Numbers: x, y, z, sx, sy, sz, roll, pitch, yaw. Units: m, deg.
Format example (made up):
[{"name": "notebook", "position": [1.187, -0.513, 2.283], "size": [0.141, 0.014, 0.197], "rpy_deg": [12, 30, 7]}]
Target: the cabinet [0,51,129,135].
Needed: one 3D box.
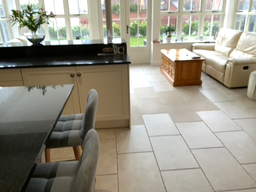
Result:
[{"name": "cabinet", "position": [-1.250, -0.050, 2.780], "size": [2.470, 0.880, 0.600], "rpy_deg": [-3, 22, -4]}]

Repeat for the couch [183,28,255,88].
[{"name": "couch", "position": [2.170, -1.000, 4.910], "size": [1.030, 0.920, 2.120], "rpy_deg": [-3, 22, -5]}]

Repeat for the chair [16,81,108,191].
[{"name": "chair", "position": [-0.430, 0.390, 1.650], "size": [0.490, 0.900, 0.450], "rpy_deg": [-3, 22, -4]}]

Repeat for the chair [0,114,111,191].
[{"name": "chair", "position": [-0.360, 0.610, 1.120], "size": [0.530, 0.890, 0.450], "rpy_deg": [-3, 22, -4]}]
